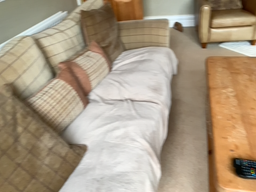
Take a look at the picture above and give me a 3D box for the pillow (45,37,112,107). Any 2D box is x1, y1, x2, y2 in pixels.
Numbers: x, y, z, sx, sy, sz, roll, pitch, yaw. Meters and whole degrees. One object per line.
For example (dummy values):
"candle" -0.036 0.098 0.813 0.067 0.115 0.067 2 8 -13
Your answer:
"pillow" -0.340 -0.180 1.570 0.210 0.330 0.360 -16 30 28

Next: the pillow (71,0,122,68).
"pillow" -0.250 -0.560 1.880 0.170 0.430 0.470 -1 35 19

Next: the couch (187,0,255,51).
"couch" 1.370 -1.270 3.140 0.810 0.790 1.050 0 36 8

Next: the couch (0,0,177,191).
"couch" -0.330 0.000 1.490 1.140 0.920 2.400 4 36 14
